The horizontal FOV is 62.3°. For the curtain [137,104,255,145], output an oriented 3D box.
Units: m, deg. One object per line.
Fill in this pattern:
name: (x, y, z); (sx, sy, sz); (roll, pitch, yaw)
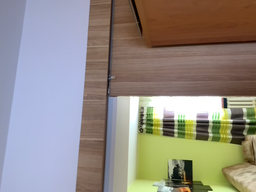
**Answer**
curtain: (1.530, 0.580, 4.470); (0.170, 2.670, 0.810); (40, -129, -74)
